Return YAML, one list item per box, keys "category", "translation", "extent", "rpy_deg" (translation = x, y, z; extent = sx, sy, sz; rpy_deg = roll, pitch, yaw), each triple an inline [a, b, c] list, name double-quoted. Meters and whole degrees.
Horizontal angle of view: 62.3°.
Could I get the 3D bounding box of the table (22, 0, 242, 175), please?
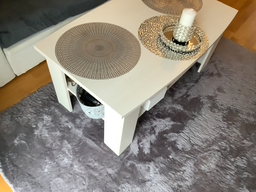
- category: "table"
  translation: [0.090, -0.210, 1.350]
  extent: [0.640, 0.490, 1.110]
  rpy_deg: [37, 58, 20]
